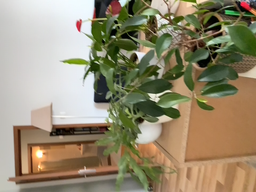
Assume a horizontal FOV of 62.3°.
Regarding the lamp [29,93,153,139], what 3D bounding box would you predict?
[{"bbox_3d":[-0.530,0.260,3.190,0.520,1.690,0.510,-147,60,-69],"label":"lamp"}]
